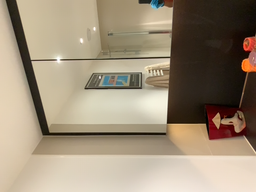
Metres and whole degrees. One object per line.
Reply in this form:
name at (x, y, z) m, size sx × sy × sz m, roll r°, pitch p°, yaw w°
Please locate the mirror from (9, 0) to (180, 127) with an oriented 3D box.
mirror at (-0.210, -0.550, 1.370) m, size 0.100 × 1.050 × 1.740 m, roll -83°, pitch -8°, yaw -63°
